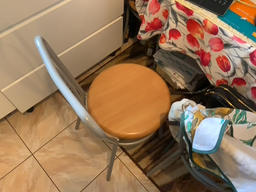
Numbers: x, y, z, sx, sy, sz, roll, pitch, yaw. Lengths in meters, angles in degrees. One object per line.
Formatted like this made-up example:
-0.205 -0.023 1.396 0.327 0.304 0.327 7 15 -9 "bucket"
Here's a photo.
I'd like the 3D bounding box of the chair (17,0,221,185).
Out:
-0.040 0.040 0.980 0.470 0.790 0.390 -38 70 -21 "chair"
